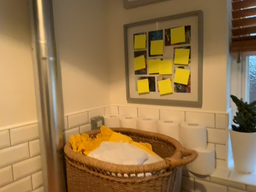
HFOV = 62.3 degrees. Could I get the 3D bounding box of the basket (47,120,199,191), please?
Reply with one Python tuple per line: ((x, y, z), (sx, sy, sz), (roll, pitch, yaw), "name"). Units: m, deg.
((-0.020, 0.340, 0.990), (0.580, 0.320, 0.390), (3, 7, 34), "basket")
